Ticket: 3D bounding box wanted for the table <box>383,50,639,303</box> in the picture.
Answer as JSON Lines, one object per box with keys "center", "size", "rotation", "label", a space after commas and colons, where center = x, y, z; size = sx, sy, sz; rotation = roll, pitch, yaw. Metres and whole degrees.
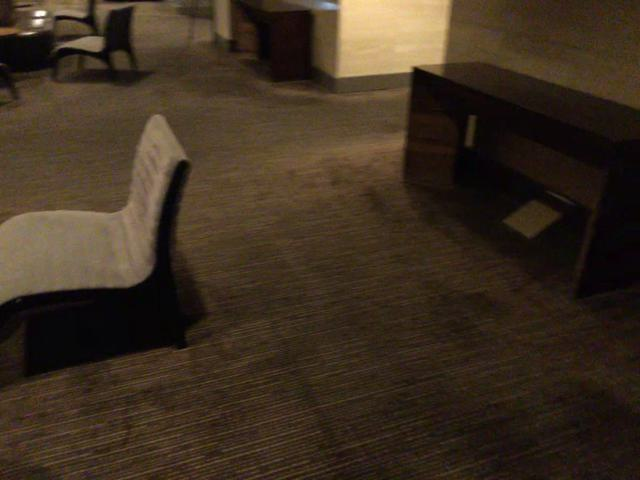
{"center": [0.980, -0.460, 2.970], "size": [0.540, 0.720, 1.680], "rotation": [-6, 28, -20], "label": "table"}
